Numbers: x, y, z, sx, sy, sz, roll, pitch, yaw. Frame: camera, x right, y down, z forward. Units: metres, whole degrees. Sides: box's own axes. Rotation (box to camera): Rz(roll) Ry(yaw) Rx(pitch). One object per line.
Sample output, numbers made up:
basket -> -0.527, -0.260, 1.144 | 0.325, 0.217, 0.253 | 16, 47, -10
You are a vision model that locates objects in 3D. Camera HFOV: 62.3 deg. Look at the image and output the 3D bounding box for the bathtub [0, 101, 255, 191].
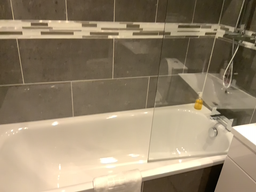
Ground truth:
bathtub -> -0.040, 0.530, 1.540 | 1.670, 0.600, 0.690 | -5, 28, -18
